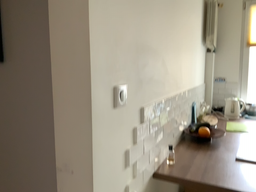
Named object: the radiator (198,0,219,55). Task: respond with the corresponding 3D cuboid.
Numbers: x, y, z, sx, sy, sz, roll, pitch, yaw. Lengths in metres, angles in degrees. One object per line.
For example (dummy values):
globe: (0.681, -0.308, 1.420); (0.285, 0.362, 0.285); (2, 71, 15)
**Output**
radiator: (0.970, -0.810, 2.540); (0.180, 0.580, 0.450); (3, 8, 23)
